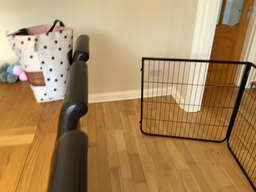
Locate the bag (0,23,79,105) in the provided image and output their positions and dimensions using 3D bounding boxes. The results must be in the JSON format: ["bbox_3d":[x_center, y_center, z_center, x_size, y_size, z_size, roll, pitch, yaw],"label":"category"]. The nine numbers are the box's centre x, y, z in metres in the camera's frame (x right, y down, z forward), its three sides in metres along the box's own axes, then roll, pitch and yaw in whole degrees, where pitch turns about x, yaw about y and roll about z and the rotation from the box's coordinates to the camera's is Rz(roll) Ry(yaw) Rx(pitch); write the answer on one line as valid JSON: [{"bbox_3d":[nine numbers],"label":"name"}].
[{"bbox_3d":[-0.470,-0.200,1.200,0.300,0.330,0.380,-3,31,-5],"label":"bag"}]
